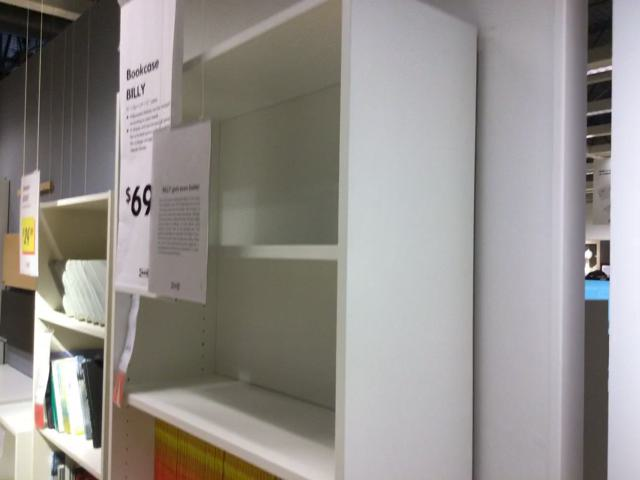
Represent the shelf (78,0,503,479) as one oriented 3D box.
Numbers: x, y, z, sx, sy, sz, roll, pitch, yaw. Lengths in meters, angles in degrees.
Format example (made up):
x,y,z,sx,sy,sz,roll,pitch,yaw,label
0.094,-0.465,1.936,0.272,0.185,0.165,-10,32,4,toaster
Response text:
x,y,z,sx,sy,sz,roll,pitch,yaw,label
-0.140,0.650,1.120,0.360,2.020,0.860,1,0,-41,shelf
